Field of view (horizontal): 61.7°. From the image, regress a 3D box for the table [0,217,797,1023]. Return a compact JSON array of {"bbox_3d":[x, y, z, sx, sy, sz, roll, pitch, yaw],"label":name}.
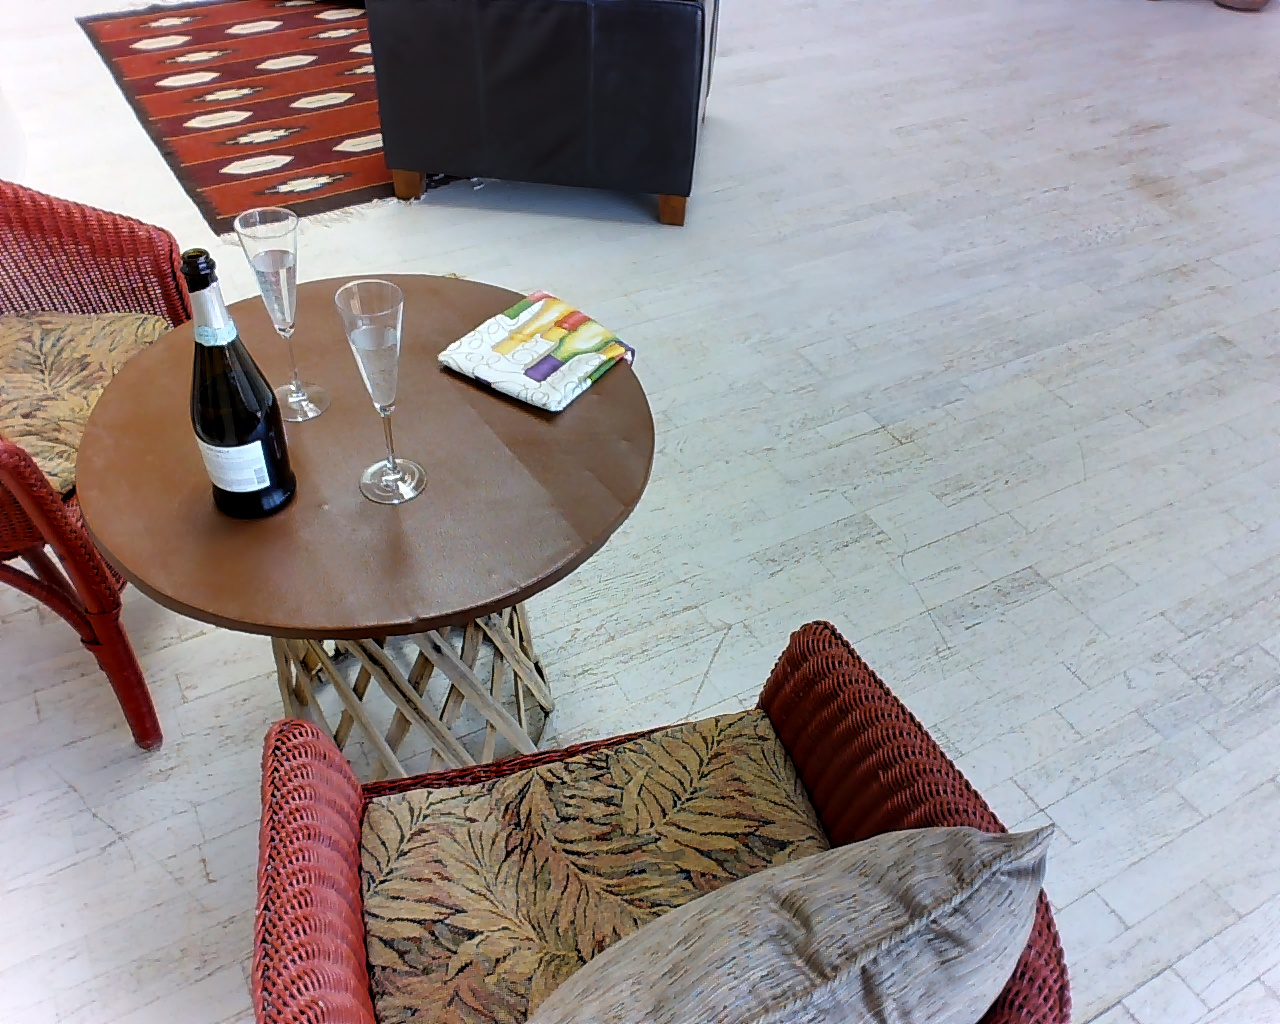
[{"bbox_3d":[-0.320,0.100,1.570,0.710,0.620,0.780,29,48,26],"label":"table"}]
